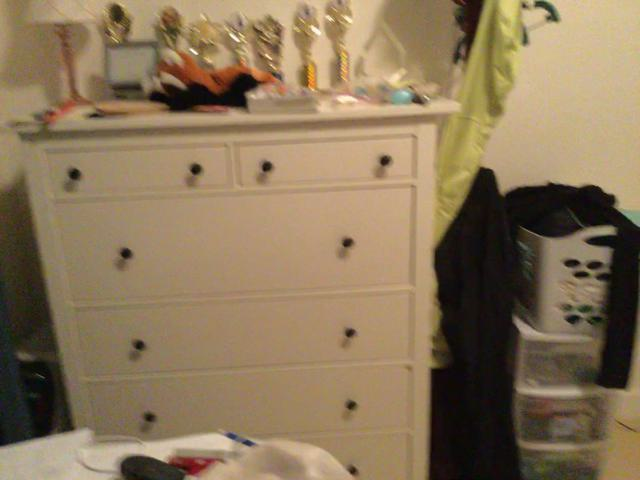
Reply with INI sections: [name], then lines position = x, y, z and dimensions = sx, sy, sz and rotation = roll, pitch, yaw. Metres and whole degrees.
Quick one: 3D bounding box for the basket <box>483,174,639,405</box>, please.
[basket]
position = 0.790, 0.120, 1.700
dimensions = 0.480, 0.540, 0.440
rotation = -2, 17, 1
